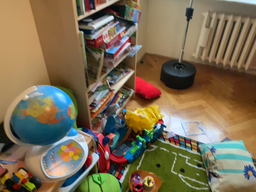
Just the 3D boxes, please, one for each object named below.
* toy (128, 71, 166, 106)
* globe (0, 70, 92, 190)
[{"bbox_3d":[0.210,-0.090,2.300,0.320,0.190,0.290,15,39,17],"label":"toy"},{"bbox_3d":[-0.350,0.140,0.920,0.230,0.370,0.270,25,43,28],"label":"globe"}]
